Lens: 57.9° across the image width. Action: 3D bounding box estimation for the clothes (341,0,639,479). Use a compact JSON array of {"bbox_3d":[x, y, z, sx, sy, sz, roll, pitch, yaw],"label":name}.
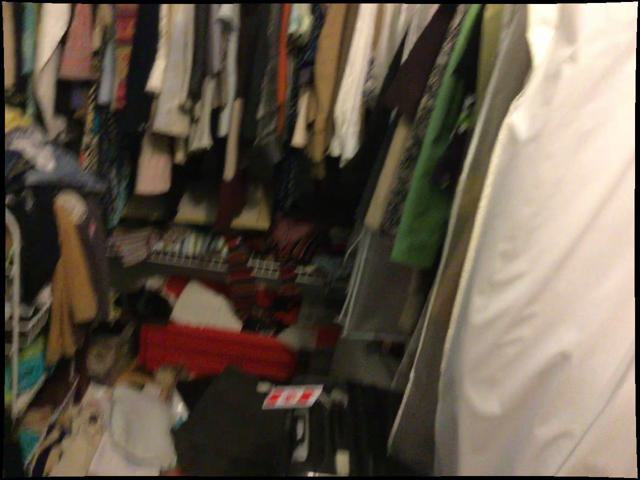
[{"bbox_3d":[0.290,0.190,0.830,0.360,1.521,0.460,9,21,-3],"label":"clothes"}]
